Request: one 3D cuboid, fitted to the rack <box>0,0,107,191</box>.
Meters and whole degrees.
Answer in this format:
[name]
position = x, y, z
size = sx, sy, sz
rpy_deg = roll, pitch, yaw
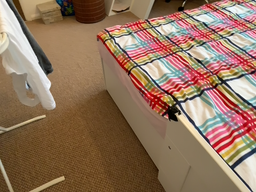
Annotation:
[rack]
position = -0.690, -0.050, 0.980
size = 0.740, 0.940, 1.010
rpy_deg = -22, 49, -19
